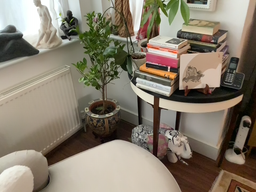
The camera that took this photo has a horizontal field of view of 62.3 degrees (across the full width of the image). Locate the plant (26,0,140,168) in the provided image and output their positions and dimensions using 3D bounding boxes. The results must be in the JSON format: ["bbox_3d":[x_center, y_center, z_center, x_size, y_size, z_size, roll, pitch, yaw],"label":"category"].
[{"bbox_3d":[-0.260,-0.340,1.550,0.450,1.700,0.560,20,38,32],"label":"plant"}]

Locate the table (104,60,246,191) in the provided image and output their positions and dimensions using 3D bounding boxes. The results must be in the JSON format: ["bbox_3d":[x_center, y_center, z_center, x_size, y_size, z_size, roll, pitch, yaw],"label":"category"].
[{"bbox_3d":[0.300,0.210,1.560,0.810,0.710,0.410,17,37,29],"label":"table"}]
